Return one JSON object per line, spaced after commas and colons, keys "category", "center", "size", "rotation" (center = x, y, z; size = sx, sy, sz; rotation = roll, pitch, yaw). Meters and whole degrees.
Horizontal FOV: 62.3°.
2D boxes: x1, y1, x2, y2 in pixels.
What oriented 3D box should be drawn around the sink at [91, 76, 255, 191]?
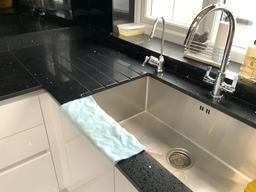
{"category": "sink", "center": [0.180, 0.190, 0.830], "size": [0.350, 0.250, 0.640], "rotation": [-21, 37, -33]}
